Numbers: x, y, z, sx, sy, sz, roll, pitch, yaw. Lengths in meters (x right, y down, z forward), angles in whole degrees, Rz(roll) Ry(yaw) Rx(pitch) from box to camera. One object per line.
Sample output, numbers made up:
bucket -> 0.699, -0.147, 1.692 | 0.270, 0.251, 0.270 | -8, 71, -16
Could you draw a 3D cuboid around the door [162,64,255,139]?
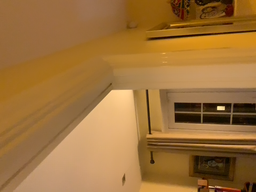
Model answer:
door -> 1.460, 0.080, 2.590 | 0.140, 2.020, 0.930 | -55, -38, -63
